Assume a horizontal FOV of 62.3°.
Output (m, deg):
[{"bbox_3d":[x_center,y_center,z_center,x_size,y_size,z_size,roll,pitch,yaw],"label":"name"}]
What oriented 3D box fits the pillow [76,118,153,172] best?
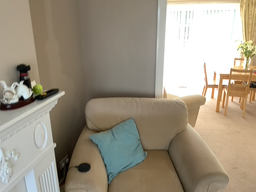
[{"bbox_3d":[-0.120,0.430,1.900,0.460,0.420,0.290,10,51,-50],"label":"pillow"}]
